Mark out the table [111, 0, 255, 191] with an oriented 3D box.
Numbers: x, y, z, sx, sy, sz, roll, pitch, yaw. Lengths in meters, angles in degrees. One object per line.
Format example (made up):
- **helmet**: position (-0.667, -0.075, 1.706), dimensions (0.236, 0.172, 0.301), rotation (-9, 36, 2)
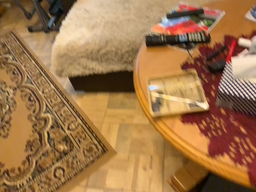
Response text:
- **table**: position (0.470, 0.080, 0.910), dimensions (0.840, 0.630, 0.810), rotation (1, 50, 11)
